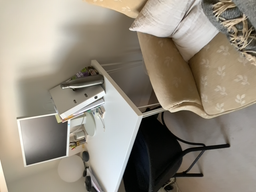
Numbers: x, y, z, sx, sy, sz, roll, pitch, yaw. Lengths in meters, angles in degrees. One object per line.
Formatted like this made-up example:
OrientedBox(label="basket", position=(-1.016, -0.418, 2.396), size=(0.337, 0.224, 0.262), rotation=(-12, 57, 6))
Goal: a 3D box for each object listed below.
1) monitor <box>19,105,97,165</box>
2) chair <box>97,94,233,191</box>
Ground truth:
OrientedBox(label="monitor", position=(-0.520, 0.290, 1.600), size=(0.040, 0.520, 0.460), rotation=(51, 136, 41))
OrientedBox(label="chair", position=(0.240, 0.420, 1.630), size=(0.570, 0.700, 0.530), rotation=(52, 140, 36))
